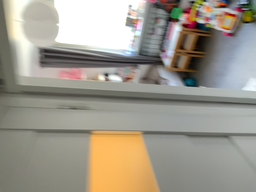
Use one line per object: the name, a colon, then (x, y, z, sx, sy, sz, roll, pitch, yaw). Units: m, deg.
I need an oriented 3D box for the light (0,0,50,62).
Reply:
light: (-0.930, -0.660, 1.960, 0.400, 0.350, 0.580, 107, 154, -48)

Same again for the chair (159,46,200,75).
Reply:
chair: (0.790, -0.560, 3.310, 0.310, 0.480, 0.290, -102, 19, -49)

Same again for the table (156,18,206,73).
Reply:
table: (0.800, -0.790, 3.360, 0.490, 0.460, 0.660, -102, 20, -50)

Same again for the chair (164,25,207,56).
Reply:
chair: (0.840, -0.820, 3.150, 0.310, 0.480, 0.290, -102, 19, -49)
